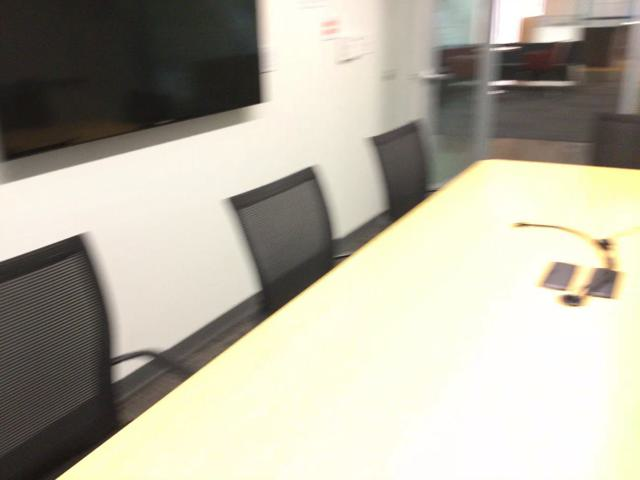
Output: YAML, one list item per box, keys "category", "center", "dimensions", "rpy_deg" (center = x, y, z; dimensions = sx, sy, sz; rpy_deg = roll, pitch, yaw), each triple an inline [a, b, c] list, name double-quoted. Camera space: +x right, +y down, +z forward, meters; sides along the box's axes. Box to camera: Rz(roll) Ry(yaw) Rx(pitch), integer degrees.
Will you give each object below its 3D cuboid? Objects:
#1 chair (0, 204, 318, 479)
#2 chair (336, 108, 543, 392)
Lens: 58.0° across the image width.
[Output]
- category: "chair"
  center: [-0.470, 0.500, 1.230]
  dimensions: [0.720, 0.960, 0.580]
  rpy_deg: [9, 24, 31]
- category: "chair"
  center: [0.500, -0.010, 2.350]
  dimensions: [0.600, 0.940, 0.570]
  rpy_deg: [9, 24, 31]
